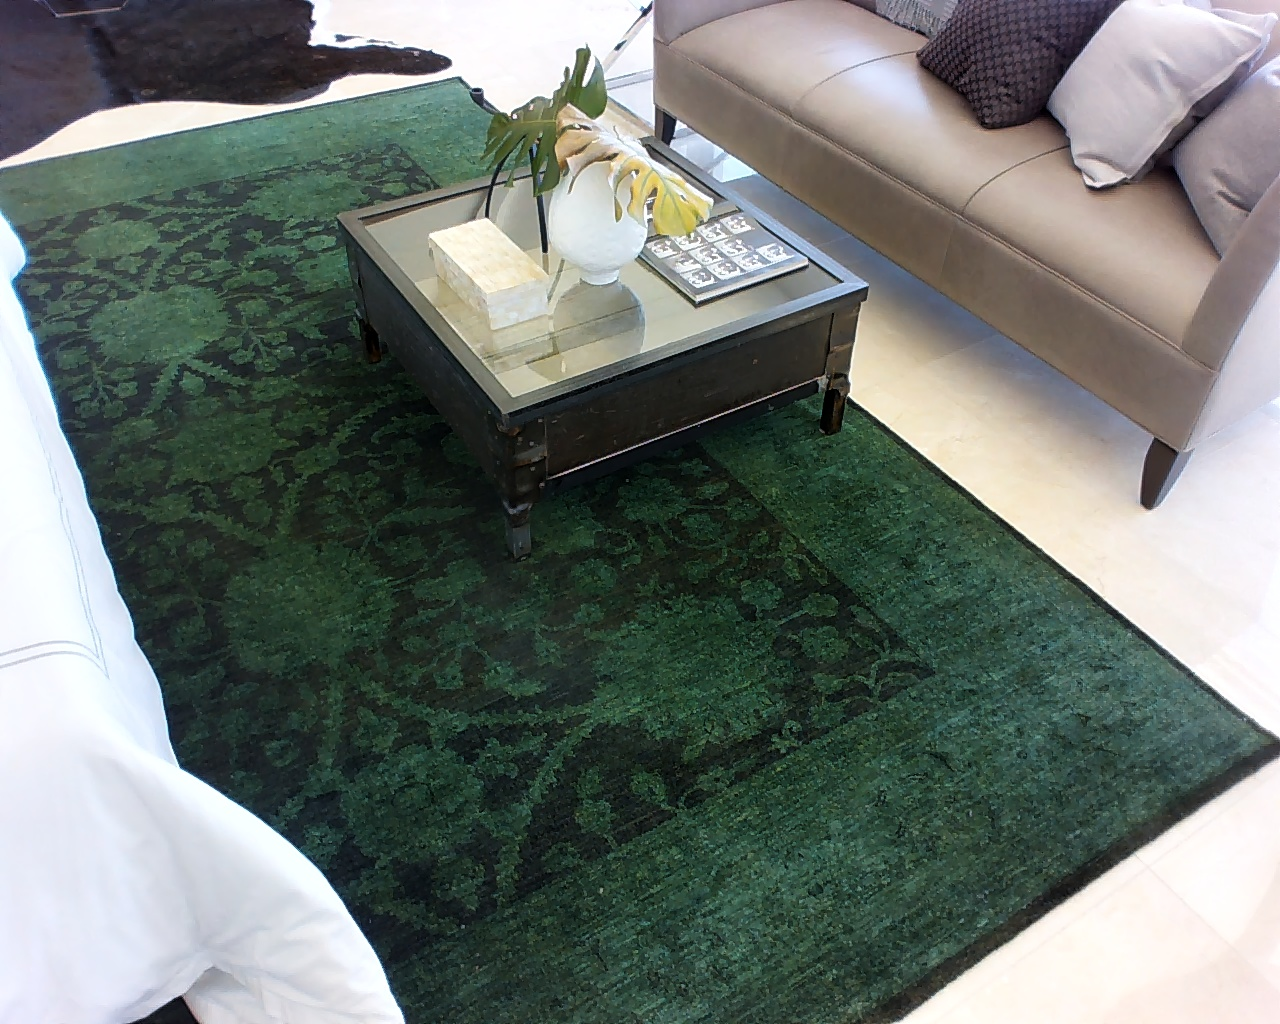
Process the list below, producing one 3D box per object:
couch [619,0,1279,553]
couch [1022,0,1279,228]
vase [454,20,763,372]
[{"bbox_3d":[0.960,-1.080,2.850,1.030,0.910,2.250,-22,47,-23],"label":"couch"},{"bbox_3d":[1.170,-1.020,2.440,0.290,0.490,0.510,3,68,-13],"label":"couch"},{"bbox_3d":[-0.080,-0.650,2.150,0.300,0.420,0.610,-23,48,-24],"label":"vase"}]
